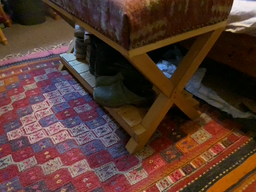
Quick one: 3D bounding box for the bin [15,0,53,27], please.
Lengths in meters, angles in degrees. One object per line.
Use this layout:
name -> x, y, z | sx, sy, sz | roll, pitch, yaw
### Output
bin -> -0.860, -0.830, 1.900 | 0.230, 0.320, 0.210 | -24, 45, -29
